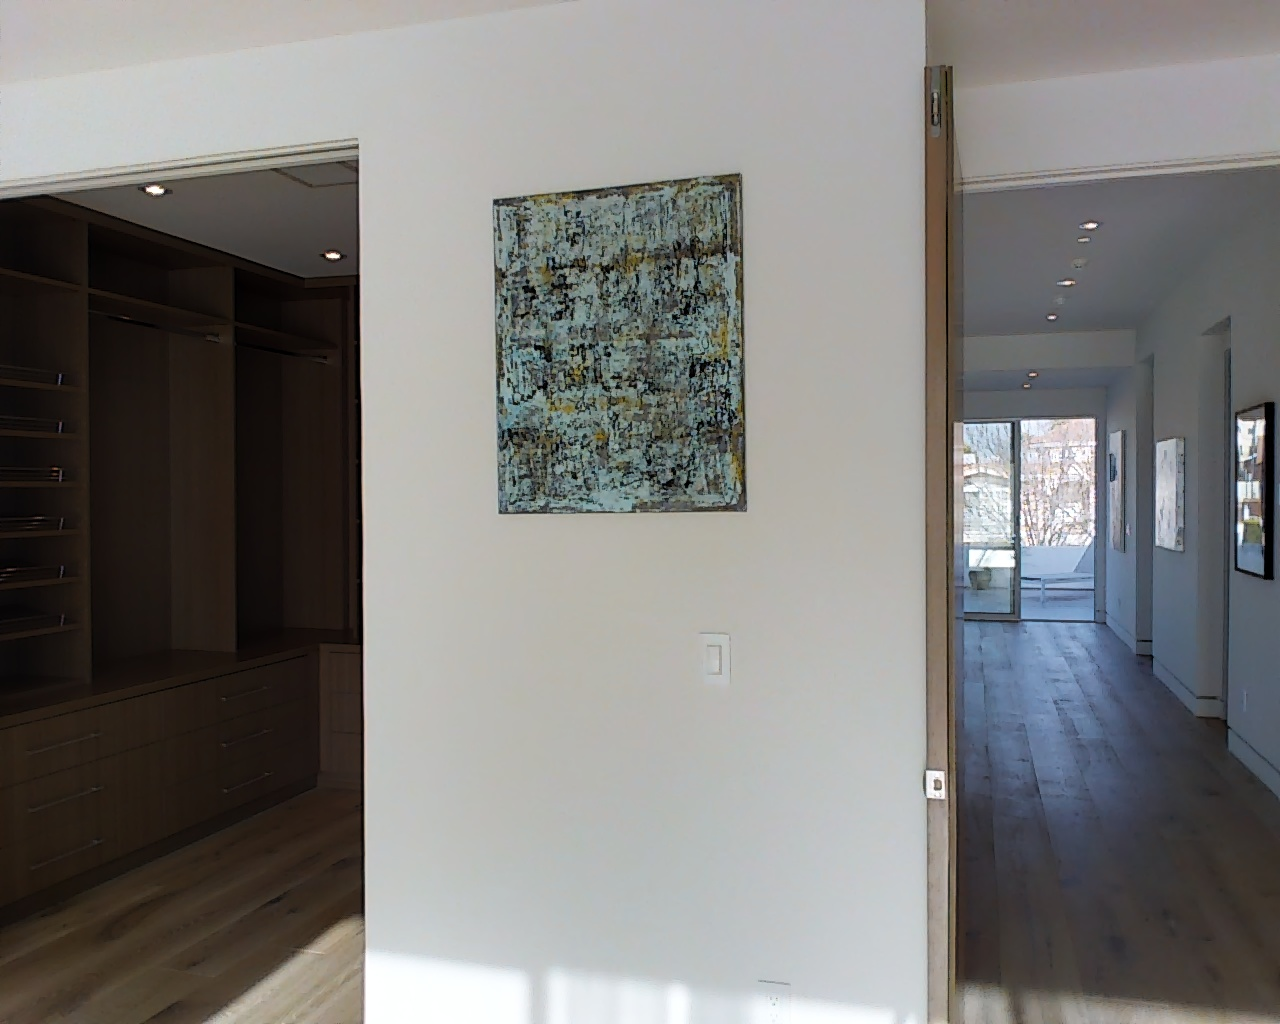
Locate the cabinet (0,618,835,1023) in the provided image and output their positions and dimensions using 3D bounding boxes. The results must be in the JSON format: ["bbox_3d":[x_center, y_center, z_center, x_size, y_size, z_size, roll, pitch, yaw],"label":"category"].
[{"bbox_3d":[-0.970,1.080,4.570,3.199,0.830,2.920,0,1,17],"label":"cabinet"}]
